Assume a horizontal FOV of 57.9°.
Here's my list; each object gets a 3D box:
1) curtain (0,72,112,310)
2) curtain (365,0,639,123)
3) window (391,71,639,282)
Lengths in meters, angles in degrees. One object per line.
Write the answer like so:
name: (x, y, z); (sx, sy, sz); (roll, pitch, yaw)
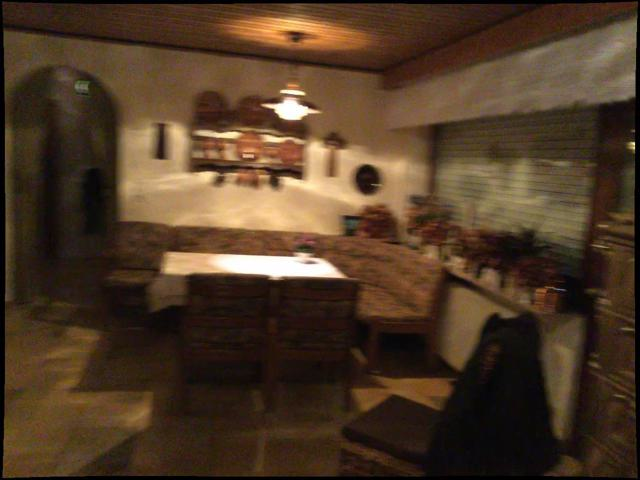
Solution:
curtain: (-2.408, -0.410, 5.240); (0.939, 2.062, 0.320); (1, 9, -13)
curtain: (1.079, -1.091, 3.560); (0.360, 0.611, 4.060); (1, 9, -13)
window: (1.189, -0.521, 4.220); (0.390, 1.061, 2.610); (1, 9, -13)
